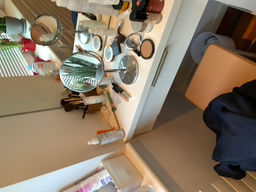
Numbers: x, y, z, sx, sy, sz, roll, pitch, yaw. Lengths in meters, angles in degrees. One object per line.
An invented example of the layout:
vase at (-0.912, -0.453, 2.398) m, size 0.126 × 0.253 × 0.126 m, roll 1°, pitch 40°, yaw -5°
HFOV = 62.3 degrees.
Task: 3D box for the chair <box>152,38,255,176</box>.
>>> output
chair at (0.540, -0.010, 1.020) m, size 0.460 × 0.630 × 0.330 m, roll 45°, pitch 129°, yaw 38°
